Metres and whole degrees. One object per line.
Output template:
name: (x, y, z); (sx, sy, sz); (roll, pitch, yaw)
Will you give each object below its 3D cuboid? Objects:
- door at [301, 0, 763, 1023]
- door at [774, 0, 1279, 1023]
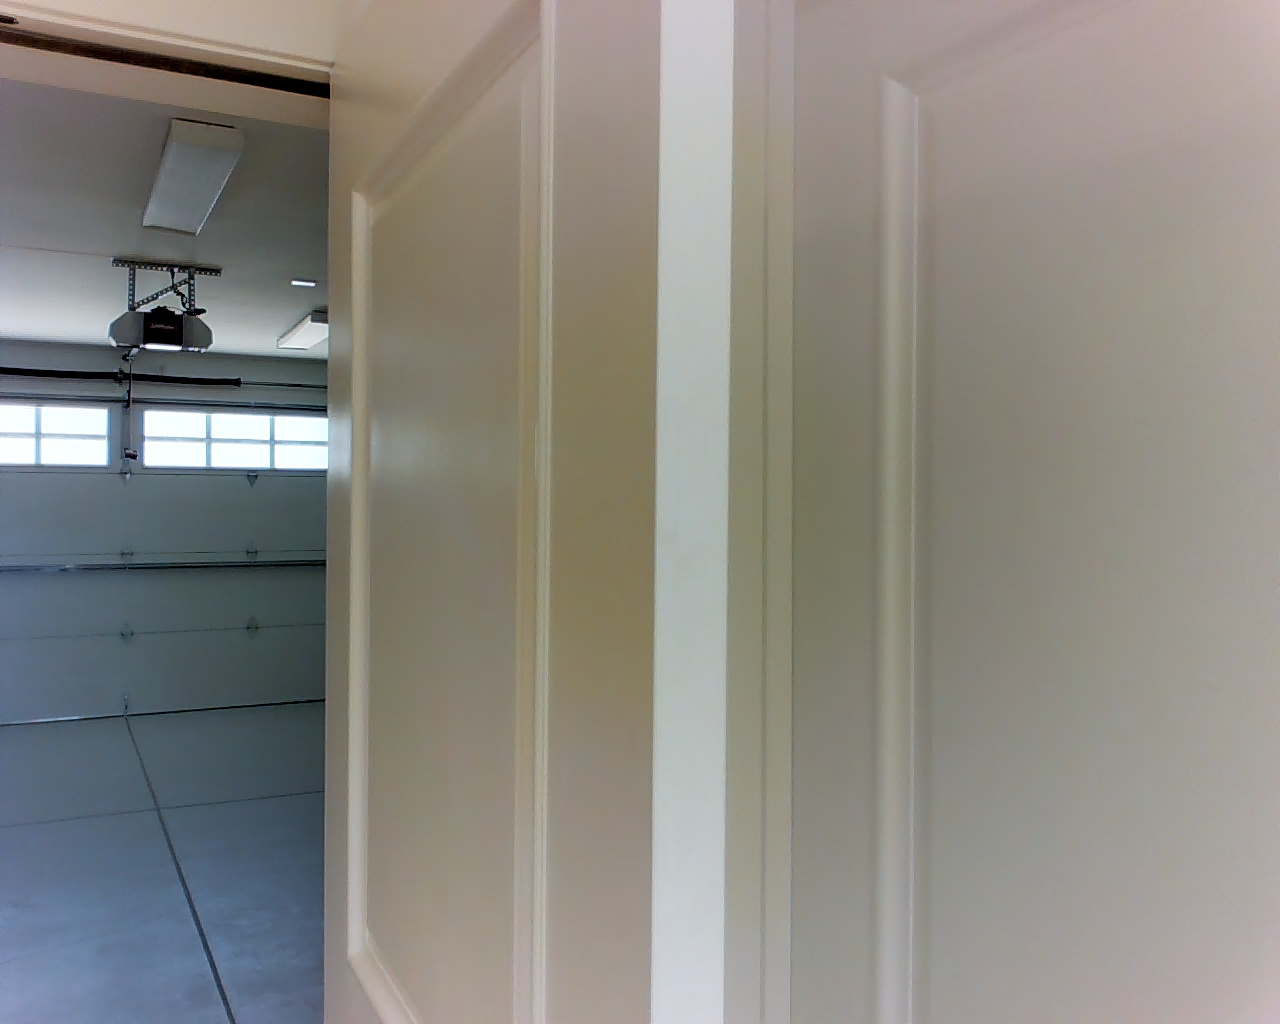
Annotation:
door: (-0.180, 0.490, 0.980); (0.090, 2.140, 0.900); (0, 0, -28)
door: (0.340, 0.490, 0.780); (0.030, 2.140, 0.780); (0, 0, -29)
